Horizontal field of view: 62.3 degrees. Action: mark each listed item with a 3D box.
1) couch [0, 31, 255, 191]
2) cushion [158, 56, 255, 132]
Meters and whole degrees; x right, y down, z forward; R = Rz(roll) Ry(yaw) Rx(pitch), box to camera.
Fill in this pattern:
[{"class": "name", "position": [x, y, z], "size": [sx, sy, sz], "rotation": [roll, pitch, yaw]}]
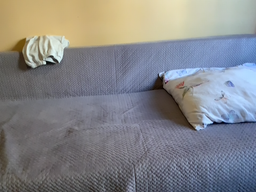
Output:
[{"class": "couch", "position": [0.010, 0.120, 1.220], "size": [2.020, 0.740, 0.980], "rotation": [-5, 23, -4]}, {"class": "cushion", "position": [0.590, -0.060, 1.230], "size": [0.710, 0.170, 0.600], "rotation": [-5, 23, -4]}]
